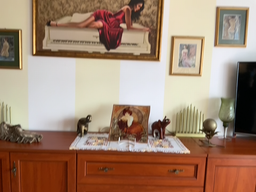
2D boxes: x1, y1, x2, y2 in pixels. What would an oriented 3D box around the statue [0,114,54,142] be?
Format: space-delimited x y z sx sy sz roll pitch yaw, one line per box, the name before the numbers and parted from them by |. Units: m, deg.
statue | -0.860 0.240 1.650 0.470 0.130 0.310 2 6 -6
